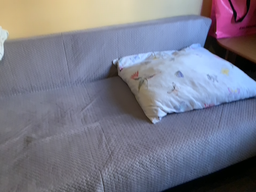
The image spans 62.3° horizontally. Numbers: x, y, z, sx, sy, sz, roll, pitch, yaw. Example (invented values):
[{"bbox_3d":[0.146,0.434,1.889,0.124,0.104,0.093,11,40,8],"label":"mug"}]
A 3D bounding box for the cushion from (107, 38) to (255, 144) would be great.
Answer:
[{"bbox_3d":[0.340,-0.110,1.290,0.770,0.200,0.670,-12,35,-15],"label":"cushion"}]
